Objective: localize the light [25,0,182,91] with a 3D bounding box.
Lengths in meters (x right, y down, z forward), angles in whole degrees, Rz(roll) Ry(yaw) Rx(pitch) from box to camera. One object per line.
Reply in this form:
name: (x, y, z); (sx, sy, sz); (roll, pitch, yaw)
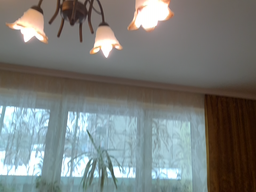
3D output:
light: (-0.130, -0.420, 0.980); (0.470, 0.750, 0.440); (48, -114, -6)
